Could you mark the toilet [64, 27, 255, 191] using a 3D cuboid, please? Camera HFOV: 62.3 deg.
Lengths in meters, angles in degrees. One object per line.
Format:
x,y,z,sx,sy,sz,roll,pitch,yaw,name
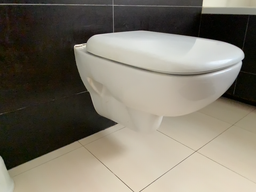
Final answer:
0.080,-0.010,0.750,0.360,0.400,0.510,-19,29,-39,toilet
